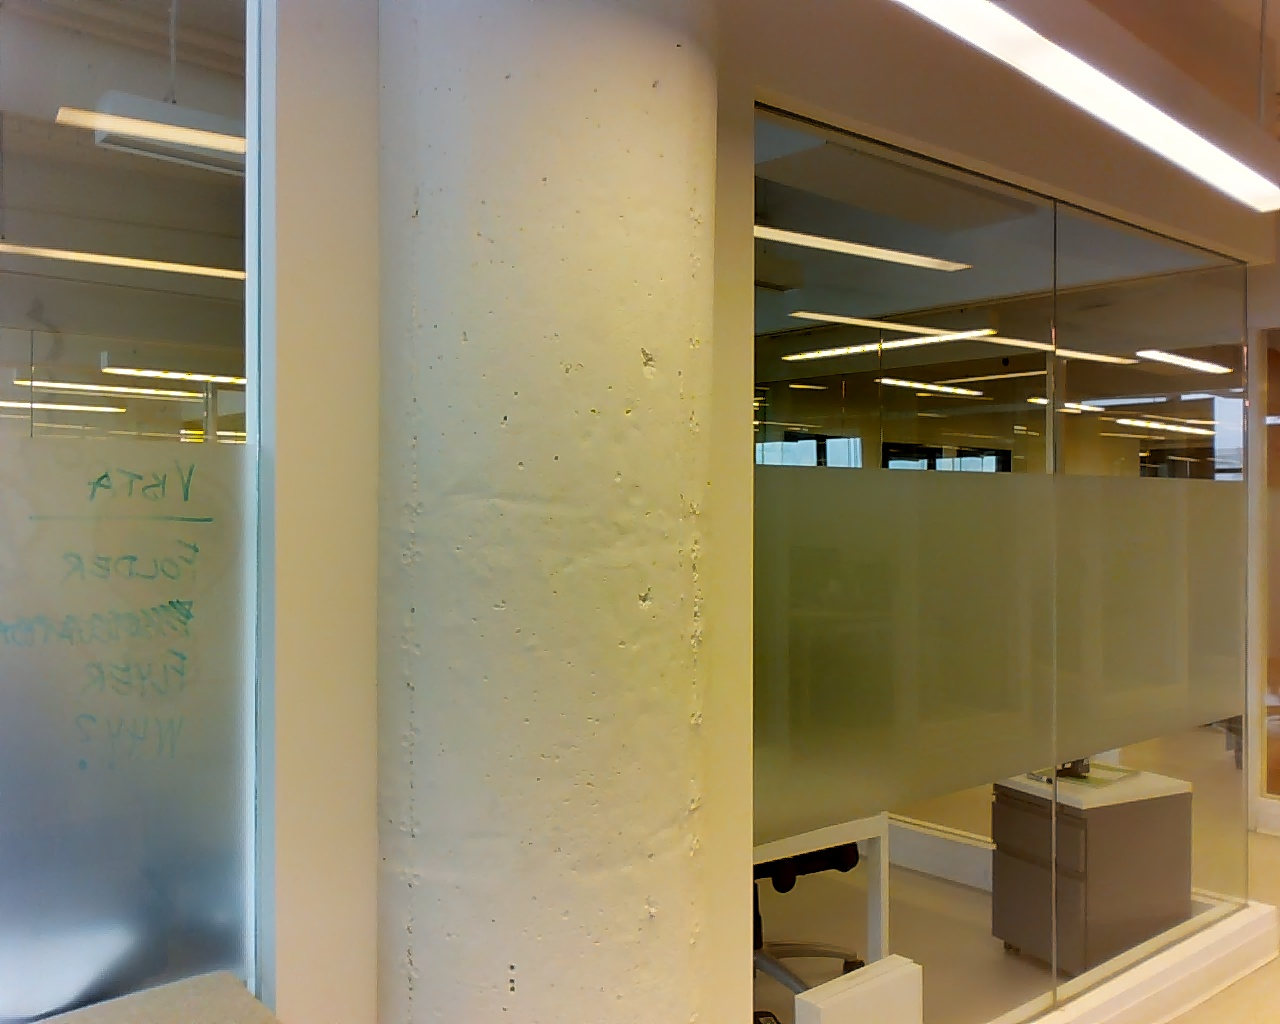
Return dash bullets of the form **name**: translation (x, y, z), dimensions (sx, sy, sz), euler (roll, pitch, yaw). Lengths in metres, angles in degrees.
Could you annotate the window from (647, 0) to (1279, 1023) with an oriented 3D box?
- **window**: translation (1.060, 0.250, 2.810), dimensions (2.490, 2.411, 0.400), euler (0, 0, -43)
